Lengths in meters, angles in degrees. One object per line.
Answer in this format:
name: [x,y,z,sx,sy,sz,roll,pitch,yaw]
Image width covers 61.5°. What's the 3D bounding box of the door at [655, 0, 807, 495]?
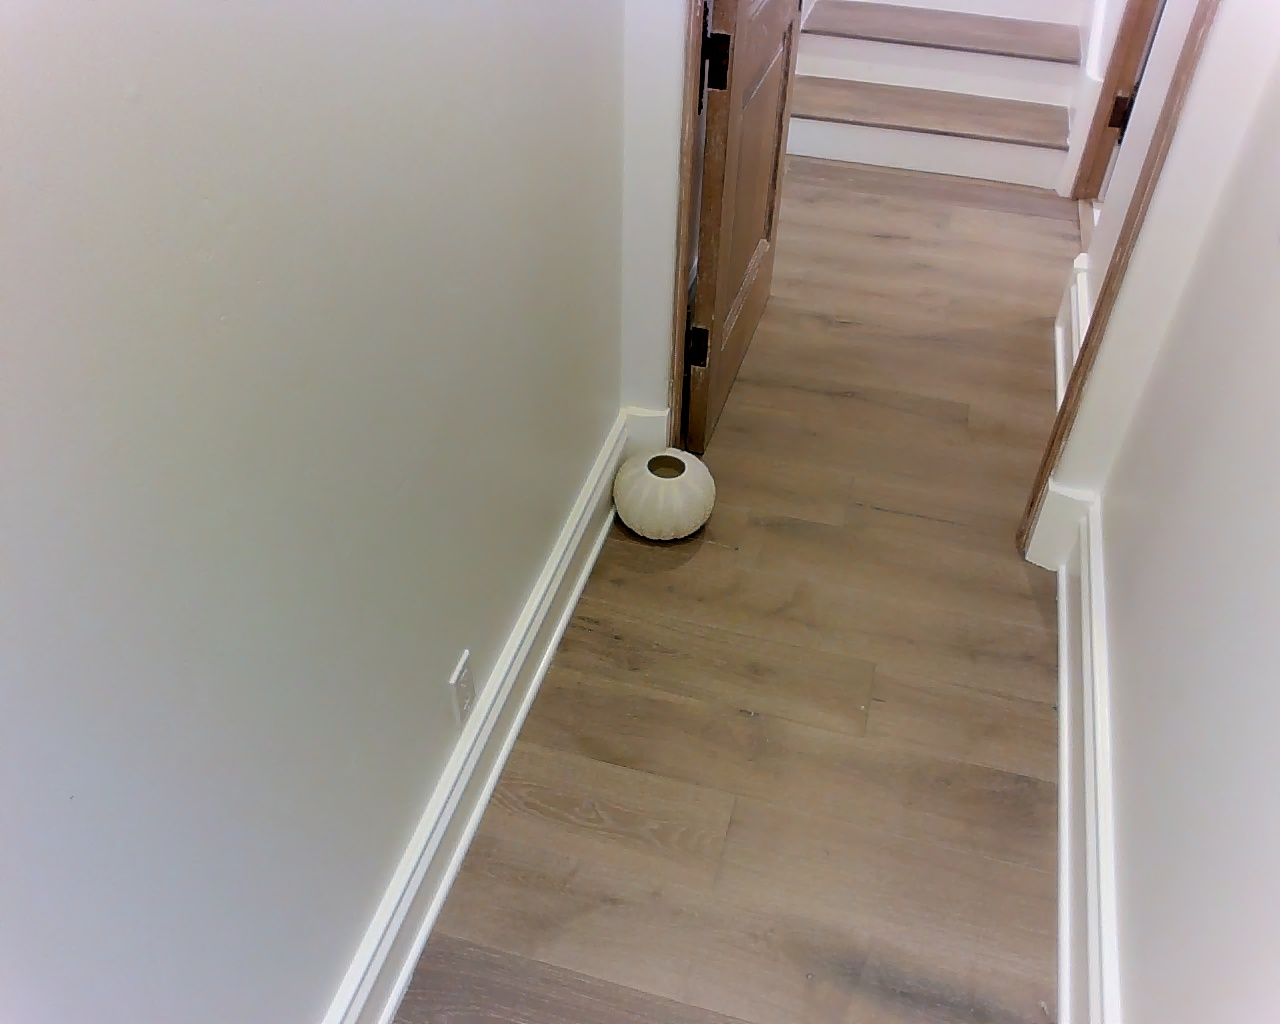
door: [0.250,-1.260,2.050,0.100,2.450,0.920,12,42,10]
